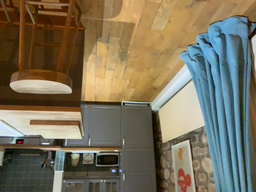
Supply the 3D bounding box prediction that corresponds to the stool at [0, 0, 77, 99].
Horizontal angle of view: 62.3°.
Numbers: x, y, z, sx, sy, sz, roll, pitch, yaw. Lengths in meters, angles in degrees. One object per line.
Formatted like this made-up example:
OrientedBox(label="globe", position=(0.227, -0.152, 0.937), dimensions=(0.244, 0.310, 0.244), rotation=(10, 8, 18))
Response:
OrientedBox(label="stool", position=(-0.600, -0.440, 1.550), dimensions=(0.360, 0.830, 0.360), rotation=(3, 159, -9))
